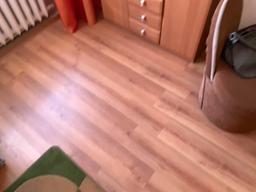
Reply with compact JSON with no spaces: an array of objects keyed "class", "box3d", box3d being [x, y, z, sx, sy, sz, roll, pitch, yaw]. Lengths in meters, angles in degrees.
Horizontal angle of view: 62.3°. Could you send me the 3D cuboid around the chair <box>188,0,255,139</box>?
[{"class":"chair","box3d":[0.770,-0.230,1.310,0.590,0.750,0.700,9,58,8]}]
